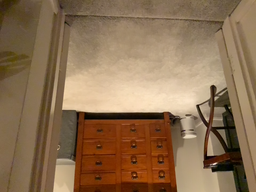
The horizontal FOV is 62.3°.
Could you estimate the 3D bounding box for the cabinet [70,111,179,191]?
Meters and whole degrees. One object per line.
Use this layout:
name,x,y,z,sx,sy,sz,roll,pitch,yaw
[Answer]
cabinet,-0.060,0.760,2.710,1.190,1.030,0.500,0,158,-5
